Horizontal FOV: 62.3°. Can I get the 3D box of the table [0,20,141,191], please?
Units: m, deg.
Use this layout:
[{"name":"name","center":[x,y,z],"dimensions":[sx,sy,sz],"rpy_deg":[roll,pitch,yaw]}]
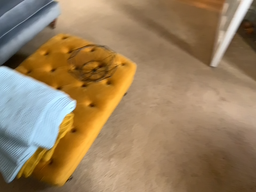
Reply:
[{"name":"table","center":[-0.410,0.030,1.280],"dimensions":[0.640,0.360,0.870],"rpy_deg":[23,57,13]}]
